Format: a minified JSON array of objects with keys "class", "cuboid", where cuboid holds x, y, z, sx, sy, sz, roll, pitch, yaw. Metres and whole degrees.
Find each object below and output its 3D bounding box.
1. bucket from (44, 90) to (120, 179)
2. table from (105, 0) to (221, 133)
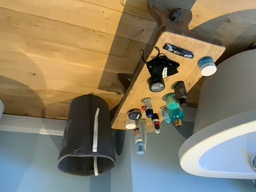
[{"class":"bucket","cuboid":[-0.310,0.300,1.630,0.420,0.490,0.440,-6,143,2]},{"class":"table","cuboid":[0.110,-0.140,1.230,0.310,0.380,0.740,8,141,-18]}]
